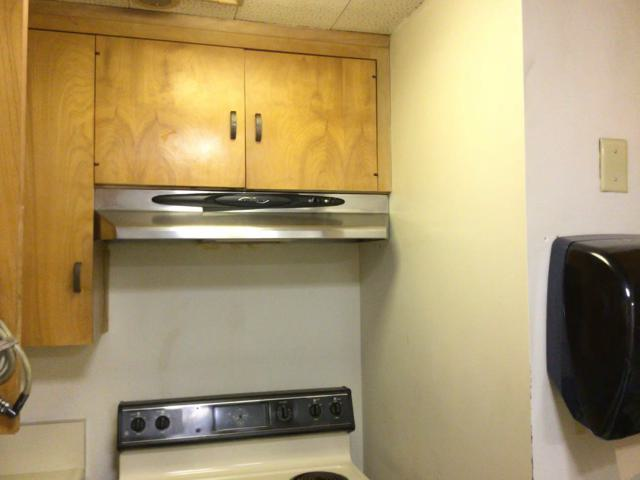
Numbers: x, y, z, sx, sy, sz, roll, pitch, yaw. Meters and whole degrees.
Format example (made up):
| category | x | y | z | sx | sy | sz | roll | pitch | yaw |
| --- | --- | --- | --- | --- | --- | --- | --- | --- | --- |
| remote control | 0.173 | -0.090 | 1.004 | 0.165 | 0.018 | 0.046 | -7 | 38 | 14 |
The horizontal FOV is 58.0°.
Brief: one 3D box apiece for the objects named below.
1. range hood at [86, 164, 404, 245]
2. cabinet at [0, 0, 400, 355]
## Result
| category | x | y | z | sx | sy | sz | roll | pitch | yaw |
| --- | --- | --- | --- | --- | --- | --- | --- | --- | --- |
| range hood | -0.200 | -0.100 | 1.700 | 0.890 | 0.210 | 0.150 | -1 | -3 | -14 |
| cabinet | -0.430 | -0.180 | 1.840 | 1.280 | 0.970 | 0.360 | -1 | -3 | -14 |
